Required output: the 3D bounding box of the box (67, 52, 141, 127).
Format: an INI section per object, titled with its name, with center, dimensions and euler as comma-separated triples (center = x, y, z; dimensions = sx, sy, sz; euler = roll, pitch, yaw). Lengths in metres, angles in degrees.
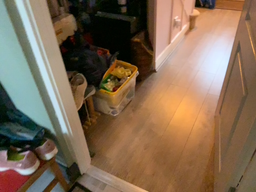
[box]
center = -0.150, -0.080, 1.670
dimensions = 0.370, 0.260, 0.550
euler = 10, 41, 15
